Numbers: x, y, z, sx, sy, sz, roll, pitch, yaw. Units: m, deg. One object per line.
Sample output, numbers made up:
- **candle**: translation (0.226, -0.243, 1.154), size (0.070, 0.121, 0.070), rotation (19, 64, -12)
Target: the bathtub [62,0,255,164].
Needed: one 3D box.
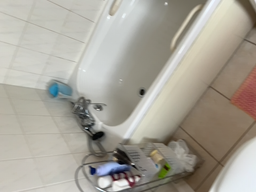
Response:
- **bathtub**: translation (0.300, -0.510, 1.280), size (0.700, 0.500, 1.730), rotation (44, 112, 36)
